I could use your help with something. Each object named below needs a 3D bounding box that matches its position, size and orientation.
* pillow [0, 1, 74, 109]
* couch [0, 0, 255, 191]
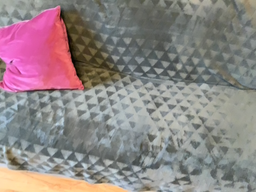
[{"bbox_3d":[-0.550,-0.170,1.050,0.400,0.390,0.240,22,50,-38],"label":"pillow"},{"bbox_3d":[0.060,-0.040,1.170,2.180,0.840,1.000,9,48,1],"label":"couch"}]
